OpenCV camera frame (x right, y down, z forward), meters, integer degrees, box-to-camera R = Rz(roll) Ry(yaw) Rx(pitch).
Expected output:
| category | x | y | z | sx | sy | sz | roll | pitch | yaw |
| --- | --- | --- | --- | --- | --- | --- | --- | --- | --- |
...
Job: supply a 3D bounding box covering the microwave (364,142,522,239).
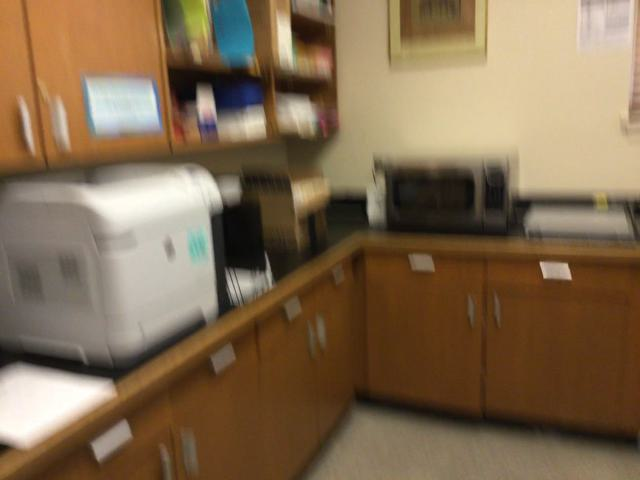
| category | x | y | z | sx | sy | sz | roll | pitch | yaw |
| --- | --- | --- | --- | --- | --- | --- | --- | --- | --- |
| microwave | 0.570 | -0.230 | 2.580 | 0.590 | 0.340 | 0.530 | 1 | 13 | 23 |
